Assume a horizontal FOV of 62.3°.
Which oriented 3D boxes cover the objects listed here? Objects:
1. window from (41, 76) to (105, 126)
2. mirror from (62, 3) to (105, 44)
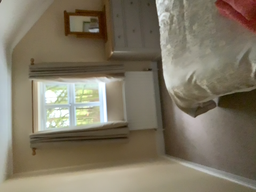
[{"bbox_3d":[-0.900,0.060,3.540,0.040,0.990,0.790,158,109,-73],"label":"window"},{"bbox_3d":[-0.710,-1.140,3.380,0.240,0.610,0.560,154,112,-74],"label":"mirror"}]
